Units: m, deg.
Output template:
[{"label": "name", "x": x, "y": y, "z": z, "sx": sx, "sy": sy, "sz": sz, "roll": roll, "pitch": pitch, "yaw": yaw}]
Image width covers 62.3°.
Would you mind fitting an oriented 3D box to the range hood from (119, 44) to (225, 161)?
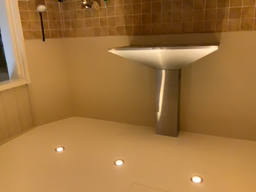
[{"label": "range hood", "x": 0.410, "y": 0.000, "z": 1.980, "sx": 0.830, "sy": 0.910, "sz": 0.450, "roll": 5, "pitch": -162, "yaw": 23}]
